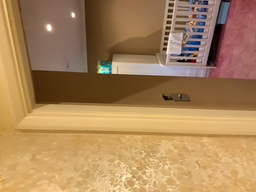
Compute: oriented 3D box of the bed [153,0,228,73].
[{"bbox_3d":[1.020,-1.300,3.680,0.780,0.910,1.590,-92,5,-63],"label":"bed"}]
